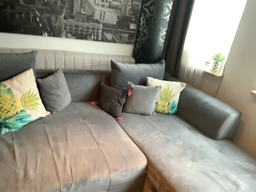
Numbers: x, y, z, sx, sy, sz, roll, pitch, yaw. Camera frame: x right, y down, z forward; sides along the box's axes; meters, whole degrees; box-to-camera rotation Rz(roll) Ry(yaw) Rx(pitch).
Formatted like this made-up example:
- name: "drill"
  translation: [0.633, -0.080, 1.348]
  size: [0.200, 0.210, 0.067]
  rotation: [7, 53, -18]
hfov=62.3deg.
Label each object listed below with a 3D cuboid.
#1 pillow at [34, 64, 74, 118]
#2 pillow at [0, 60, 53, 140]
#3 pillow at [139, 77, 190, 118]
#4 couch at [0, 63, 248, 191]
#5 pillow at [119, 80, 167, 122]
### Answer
- name: "pillow"
  translation: [-0.660, -0.050, 1.950]
  size: [0.200, 0.340, 0.310]
  rotation: [18, 39, 7]
- name: "pillow"
  translation: [-0.850, 0.030, 1.610]
  size: [0.440, 0.440, 0.210]
  rotation: [-33, 64, -32]
- name: "pillow"
  translation: [0.370, 0.020, 2.270]
  size: [0.430, 0.370, 0.180]
  rotation: [6, 33, -10]
- name: "couch"
  translation: [-0.430, 0.260, 1.870]
  size: [2.550, 0.690, 1.380]
  rotation: [-3, 26, -31]
- name: "pillow"
  translation: [0.140, 0.060, 2.150]
  size: [0.390, 0.360, 0.180]
  rotation: [5, 30, -12]
